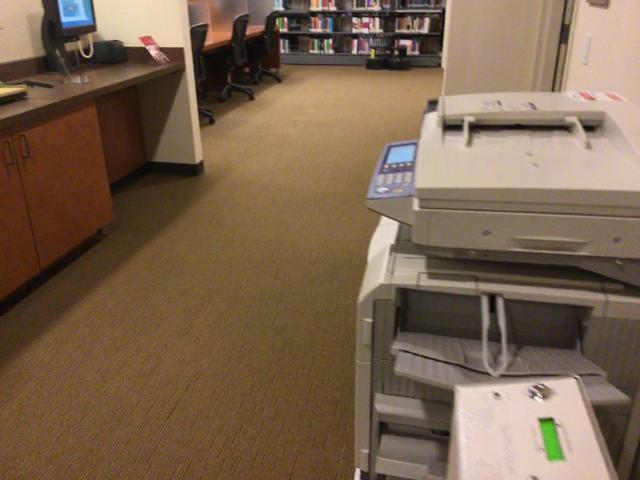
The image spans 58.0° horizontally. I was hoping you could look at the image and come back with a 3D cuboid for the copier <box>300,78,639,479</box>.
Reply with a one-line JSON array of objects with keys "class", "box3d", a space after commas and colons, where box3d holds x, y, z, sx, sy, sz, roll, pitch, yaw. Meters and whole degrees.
[{"class": "copier", "box3d": [0.440, 0.260, 1.320, 0.730, 1.150, 1.160, 6, 18, 10]}]
